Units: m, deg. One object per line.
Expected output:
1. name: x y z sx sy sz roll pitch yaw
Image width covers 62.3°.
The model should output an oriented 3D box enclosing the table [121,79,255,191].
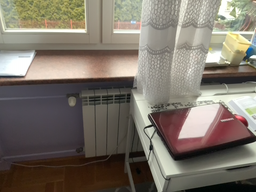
1. table: 0.700 0.390 1.410 1.360 0.760 0.640 -3 36 -13
